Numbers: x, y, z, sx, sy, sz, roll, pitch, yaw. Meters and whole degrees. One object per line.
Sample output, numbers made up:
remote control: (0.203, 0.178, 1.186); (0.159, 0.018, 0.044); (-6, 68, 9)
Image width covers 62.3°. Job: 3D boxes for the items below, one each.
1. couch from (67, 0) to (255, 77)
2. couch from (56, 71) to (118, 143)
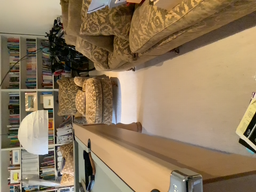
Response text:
couch: (0.020, -0.850, 1.670); (2.140, 0.770, 1.100); (172, 96, -69)
couch: (-0.860, 0.070, 3.930); (1.710, 0.810, 0.960); (-157, 68, -67)
